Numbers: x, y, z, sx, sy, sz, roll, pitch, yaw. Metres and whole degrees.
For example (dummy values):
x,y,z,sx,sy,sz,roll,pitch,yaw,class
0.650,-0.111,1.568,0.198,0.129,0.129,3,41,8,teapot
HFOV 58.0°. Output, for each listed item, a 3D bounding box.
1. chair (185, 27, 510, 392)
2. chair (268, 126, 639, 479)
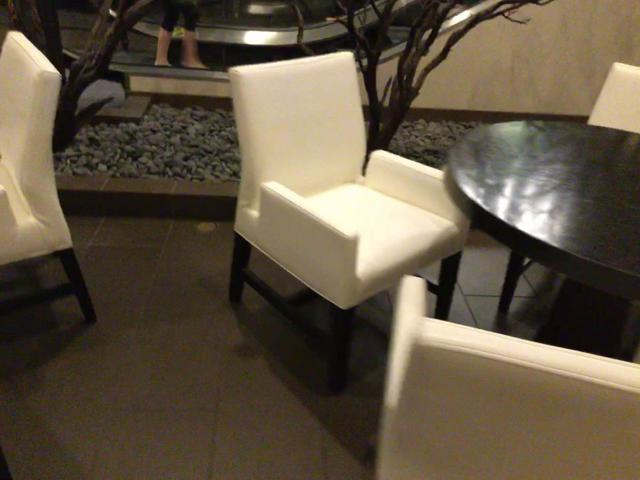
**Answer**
x,y,z,sx,sy,sz,roll,pitch,yaw,class
0.070,-0.160,1.880,0.640,0.850,0.690,-23,37,-33,chair
0.410,0.340,1.120,0.780,0.860,0.760,6,31,11,chair
